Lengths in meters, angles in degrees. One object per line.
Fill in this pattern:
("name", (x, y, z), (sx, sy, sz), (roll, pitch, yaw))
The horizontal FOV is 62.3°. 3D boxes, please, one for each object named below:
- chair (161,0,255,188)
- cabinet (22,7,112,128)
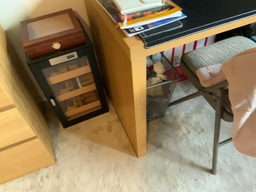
("chair", (0.520, -0.050, 0.990), (0.480, 0.750, 0.530), (-20, 50, -13))
("cabinet", (-0.320, -0.140, 1.230), (0.310, 0.580, 0.290), (-20, 50, -13))
